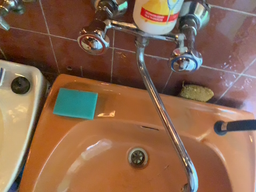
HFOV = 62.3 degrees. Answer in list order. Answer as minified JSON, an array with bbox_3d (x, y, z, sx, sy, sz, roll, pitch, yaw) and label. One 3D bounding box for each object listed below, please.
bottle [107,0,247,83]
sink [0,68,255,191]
[{"bbox_3d":[0.060,-0.140,0.290,0.150,0.230,0.100,14,59,1],"label":"bottle"},{"bbox_3d":[0.020,0.210,0.570,0.540,0.230,0.410,12,59,0],"label":"sink"}]
